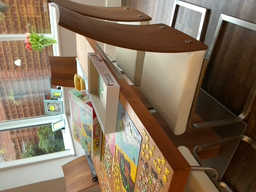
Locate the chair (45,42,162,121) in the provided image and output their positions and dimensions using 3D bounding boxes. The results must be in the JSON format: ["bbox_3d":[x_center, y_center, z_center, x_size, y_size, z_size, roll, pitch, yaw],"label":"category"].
[{"bbox_3d":[-0.270,-0.190,2.140,0.580,0.980,0.470,-122,32,-47],"label":"chair"}]

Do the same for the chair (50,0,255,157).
[{"bbox_3d":[0.150,-0.160,1.090,0.450,0.960,0.580,-124,33,-49],"label":"chair"}]
